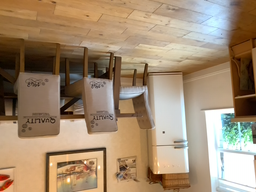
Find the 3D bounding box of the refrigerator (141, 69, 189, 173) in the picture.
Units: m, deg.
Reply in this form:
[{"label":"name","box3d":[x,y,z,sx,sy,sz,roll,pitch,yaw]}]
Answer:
[{"label":"refrigerator","box3d":[0.630,0.420,3.850,0.630,1.710,0.600,-2,174,-4]}]
